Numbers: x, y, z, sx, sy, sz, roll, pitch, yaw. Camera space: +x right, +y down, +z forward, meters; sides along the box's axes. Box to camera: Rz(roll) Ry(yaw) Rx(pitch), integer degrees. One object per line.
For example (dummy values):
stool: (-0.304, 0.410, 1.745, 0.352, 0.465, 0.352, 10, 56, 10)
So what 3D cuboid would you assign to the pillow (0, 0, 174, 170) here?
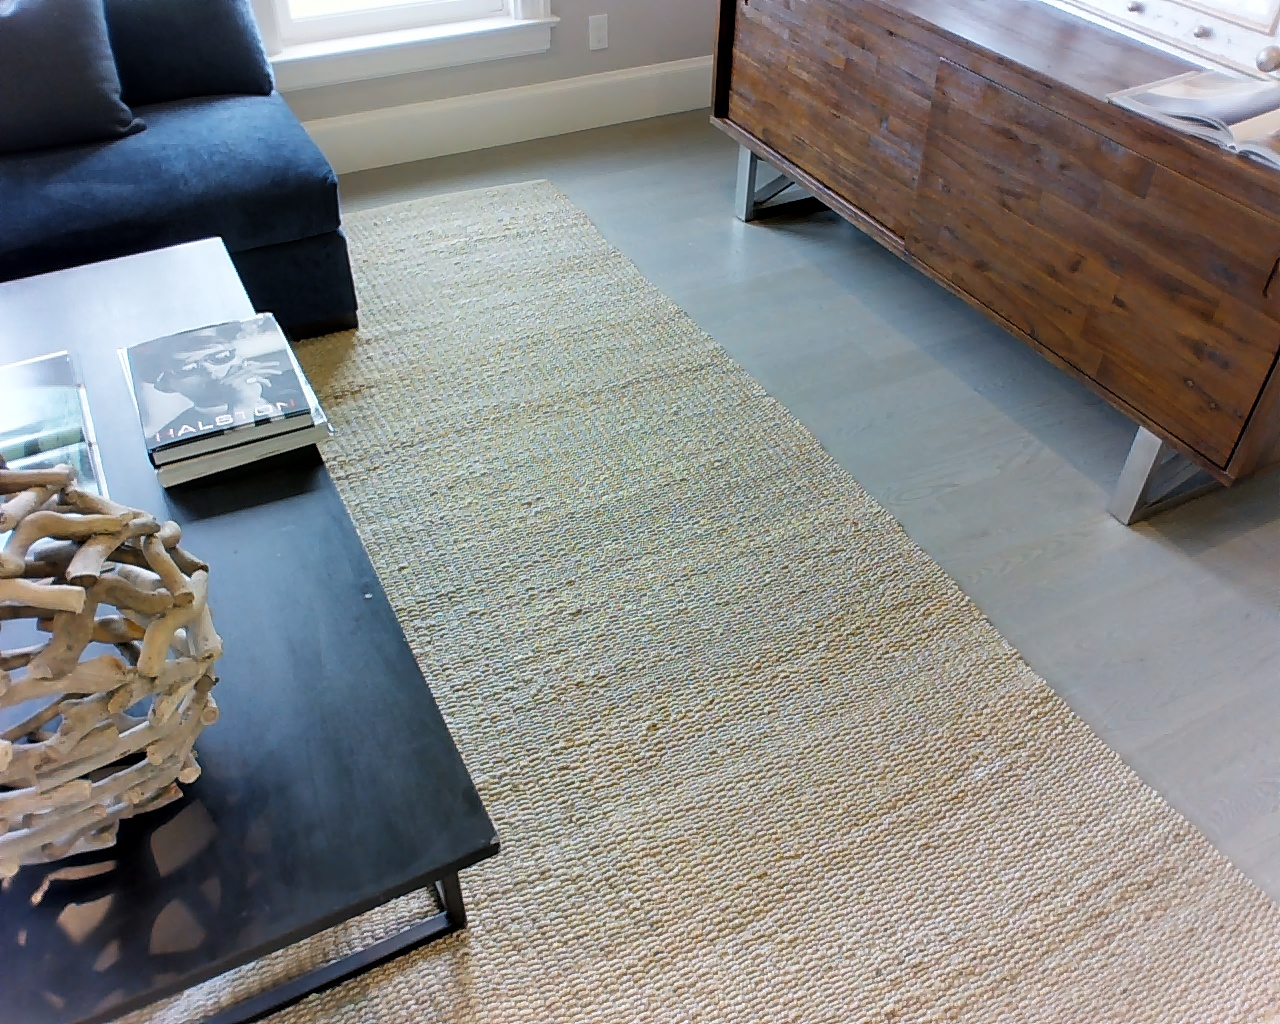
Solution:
pillow: (-1.440, -1.100, 2.530, 0.580, 0.440, 0.340, -7, 40, -32)

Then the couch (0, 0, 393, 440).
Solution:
couch: (-1.450, -0.860, 2.650, 1.340, 0.930, 0.850, -18, 45, -21)
